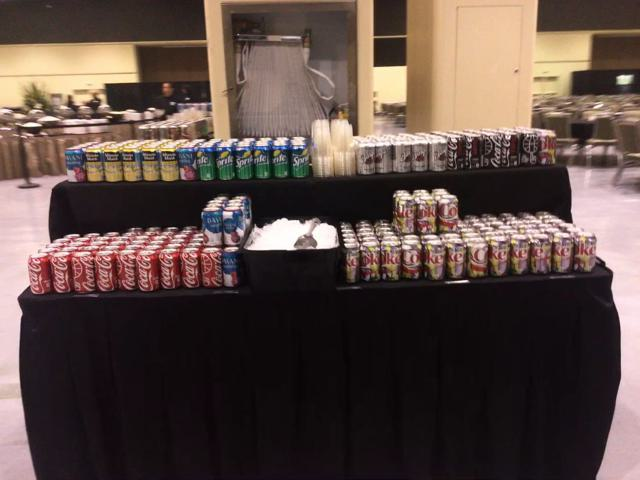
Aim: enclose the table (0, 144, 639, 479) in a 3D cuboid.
[{"bbox_3d":[0.010,0.250,2.130,1.840,1.110,0.760,0,16,-2],"label":"table"}]
